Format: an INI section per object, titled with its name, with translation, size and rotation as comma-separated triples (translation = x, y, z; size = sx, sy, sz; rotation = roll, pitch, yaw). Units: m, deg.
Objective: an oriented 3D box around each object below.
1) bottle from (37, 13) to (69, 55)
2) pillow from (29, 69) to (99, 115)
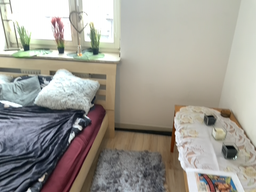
[bottle]
translation = -0.860, -0.720, 2.460
size = 0.270, 0.430, 0.160
rotation = 5, 25, 6
[pillow]
translation = -0.620, -0.060, 2.180
size = 0.520, 0.260, 0.490
rotation = 4, 25, 5
